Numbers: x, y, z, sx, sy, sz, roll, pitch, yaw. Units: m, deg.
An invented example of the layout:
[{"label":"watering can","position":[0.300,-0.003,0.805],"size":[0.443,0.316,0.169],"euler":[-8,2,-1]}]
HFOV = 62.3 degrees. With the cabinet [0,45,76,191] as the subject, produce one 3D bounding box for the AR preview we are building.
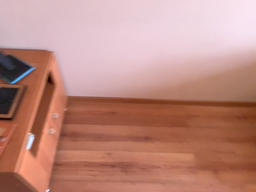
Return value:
[{"label":"cabinet","position":[-0.650,0.150,1.170],"size":[0.520,0.510,0.690],"euler":[2,52,-1]}]
